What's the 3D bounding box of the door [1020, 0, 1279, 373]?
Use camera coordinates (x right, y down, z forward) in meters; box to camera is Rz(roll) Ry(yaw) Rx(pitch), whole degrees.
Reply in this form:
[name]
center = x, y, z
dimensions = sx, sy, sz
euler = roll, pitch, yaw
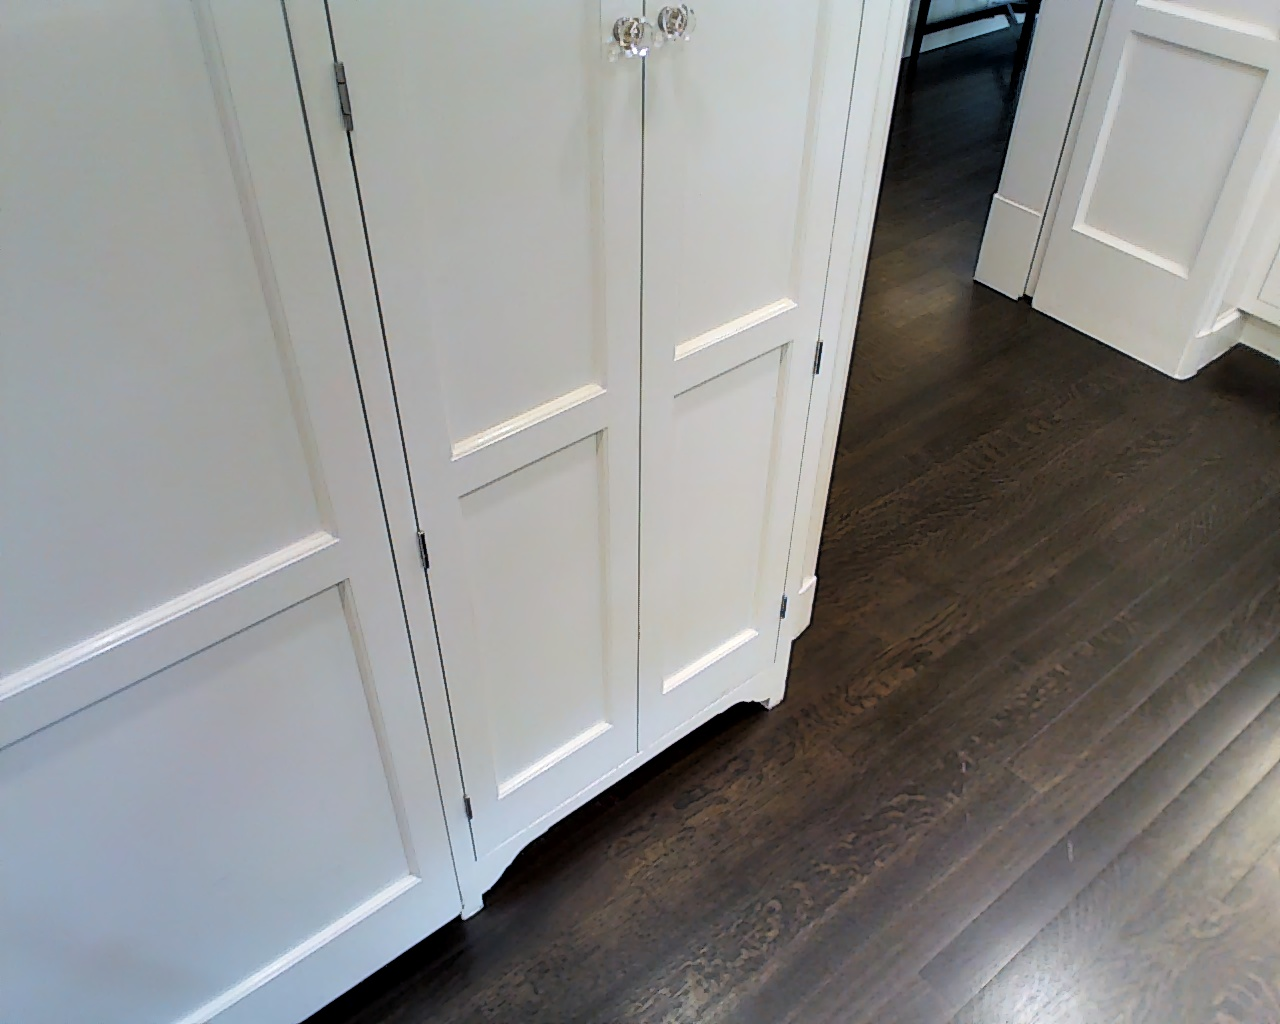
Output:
[door]
center = 1.260, -1.250, 2.240
dimensions = 0.060, 2.020, 0.490
euler = -28, 49, -28
